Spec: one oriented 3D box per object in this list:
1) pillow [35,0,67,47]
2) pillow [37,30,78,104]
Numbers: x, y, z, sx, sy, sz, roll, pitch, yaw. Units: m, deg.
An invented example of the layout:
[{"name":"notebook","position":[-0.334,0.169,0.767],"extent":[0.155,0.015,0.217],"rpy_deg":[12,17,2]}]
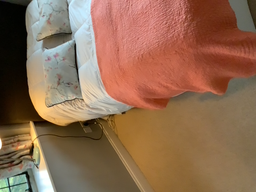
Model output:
[{"name":"pillow","position":[-0.750,-0.800,2.040],"extent":[0.310,0.160,0.540],"rpy_deg":[-25,72,50]},{"name":"pillow","position":[-0.640,-0.240,1.880],"extent":[0.320,0.200,0.550],"rpy_deg":[-25,72,50]}]
